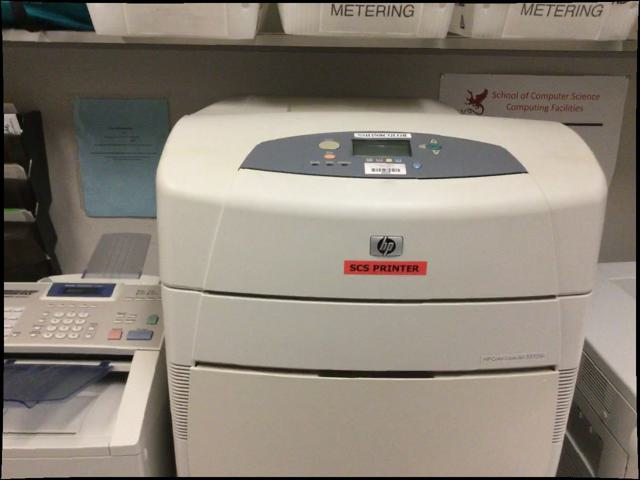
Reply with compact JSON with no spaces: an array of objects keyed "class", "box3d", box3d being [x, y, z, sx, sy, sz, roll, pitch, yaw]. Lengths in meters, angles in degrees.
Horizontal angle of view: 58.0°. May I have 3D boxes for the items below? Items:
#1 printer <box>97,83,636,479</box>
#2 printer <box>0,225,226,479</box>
[{"class":"printer","box3d":[0.060,0.100,1.040,0.599,0.691,0.630,-3,17,-1]},{"class":"printer","box3d":[-0.459,0.241,1.070,0.469,0.391,0.510,-3,17,-1]}]
